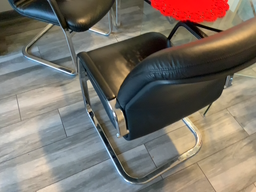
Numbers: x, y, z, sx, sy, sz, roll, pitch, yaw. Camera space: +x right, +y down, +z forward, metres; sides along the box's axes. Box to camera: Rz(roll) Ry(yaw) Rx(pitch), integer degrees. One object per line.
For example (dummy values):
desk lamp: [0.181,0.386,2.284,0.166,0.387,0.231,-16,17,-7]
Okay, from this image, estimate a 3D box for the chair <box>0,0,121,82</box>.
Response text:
chair: [-0.480,-0.710,1.440,0.680,0.910,0.580,23,56,13]

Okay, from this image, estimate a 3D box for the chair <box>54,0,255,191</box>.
chair: [0.100,-0.090,1.020,0.550,0.910,0.680,-25,59,-20]
